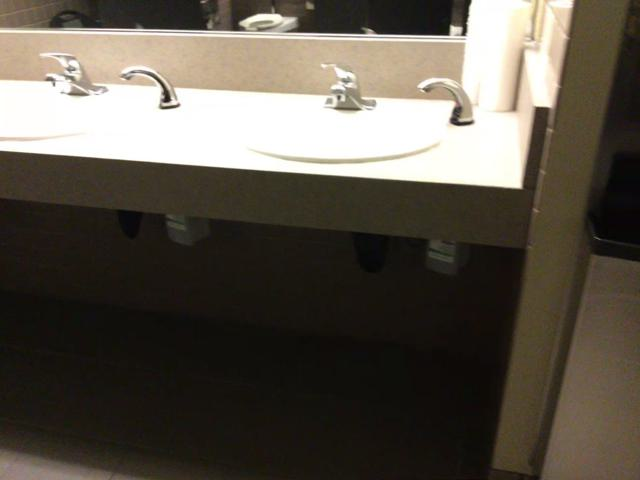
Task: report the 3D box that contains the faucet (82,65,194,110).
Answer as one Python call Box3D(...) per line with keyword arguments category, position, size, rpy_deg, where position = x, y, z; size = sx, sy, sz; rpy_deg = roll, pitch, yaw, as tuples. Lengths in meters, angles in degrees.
Box3D(category="faucet", position=(-0.510, -0.440, 1.650), size=(0.210, 0.070, 0.230), rpy_deg=(6, 28, 14))

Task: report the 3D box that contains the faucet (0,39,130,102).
Box3D(category="faucet", position=(-0.750, -0.510, 1.720), size=(0.240, 0.130, 0.250), rpy_deg=(6, 28, 14))

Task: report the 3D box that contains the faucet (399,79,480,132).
Box3D(category="faucet", position=(0.310, -0.350, 1.480), size=(0.180, 0.070, 0.240), rpy_deg=(6, 28, 14))

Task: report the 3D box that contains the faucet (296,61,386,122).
Box3D(category="faucet", position=(0.060, -0.400, 1.540), size=(0.190, 0.110, 0.200), rpy_deg=(7, 28, 15))
